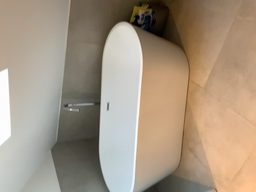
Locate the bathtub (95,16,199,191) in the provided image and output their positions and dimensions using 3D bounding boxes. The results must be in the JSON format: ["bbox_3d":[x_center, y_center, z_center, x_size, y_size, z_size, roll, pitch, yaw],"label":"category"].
[{"bbox_3d":[0.110,0.150,2.170,0.800,0.580,1.670,21,111,57],"label":"bathtub"}]
